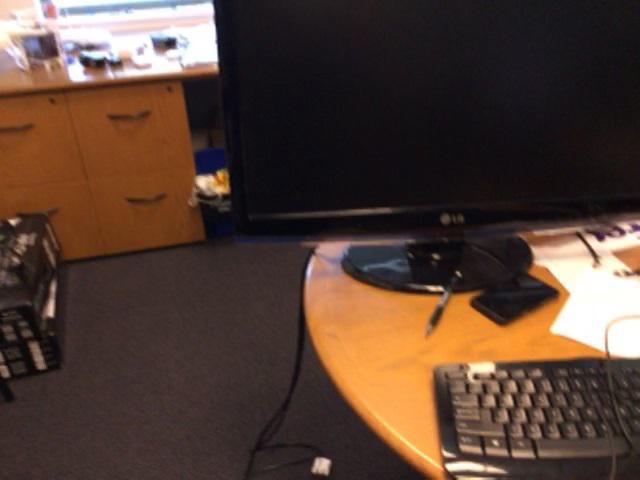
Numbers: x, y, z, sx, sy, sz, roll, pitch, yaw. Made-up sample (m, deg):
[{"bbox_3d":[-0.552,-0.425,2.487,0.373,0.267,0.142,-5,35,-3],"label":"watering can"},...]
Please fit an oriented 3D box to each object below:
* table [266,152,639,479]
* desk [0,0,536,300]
[{"bbox_3d":[0.430,0.100,0.750,0.880,0.160,0.670,-9,29,-12],"label":"table"},{"bbox_3d":[-0.350,-0.500,2.410,2.160,0.860,0.820,-9,29,-12],"label":"desk"}]
